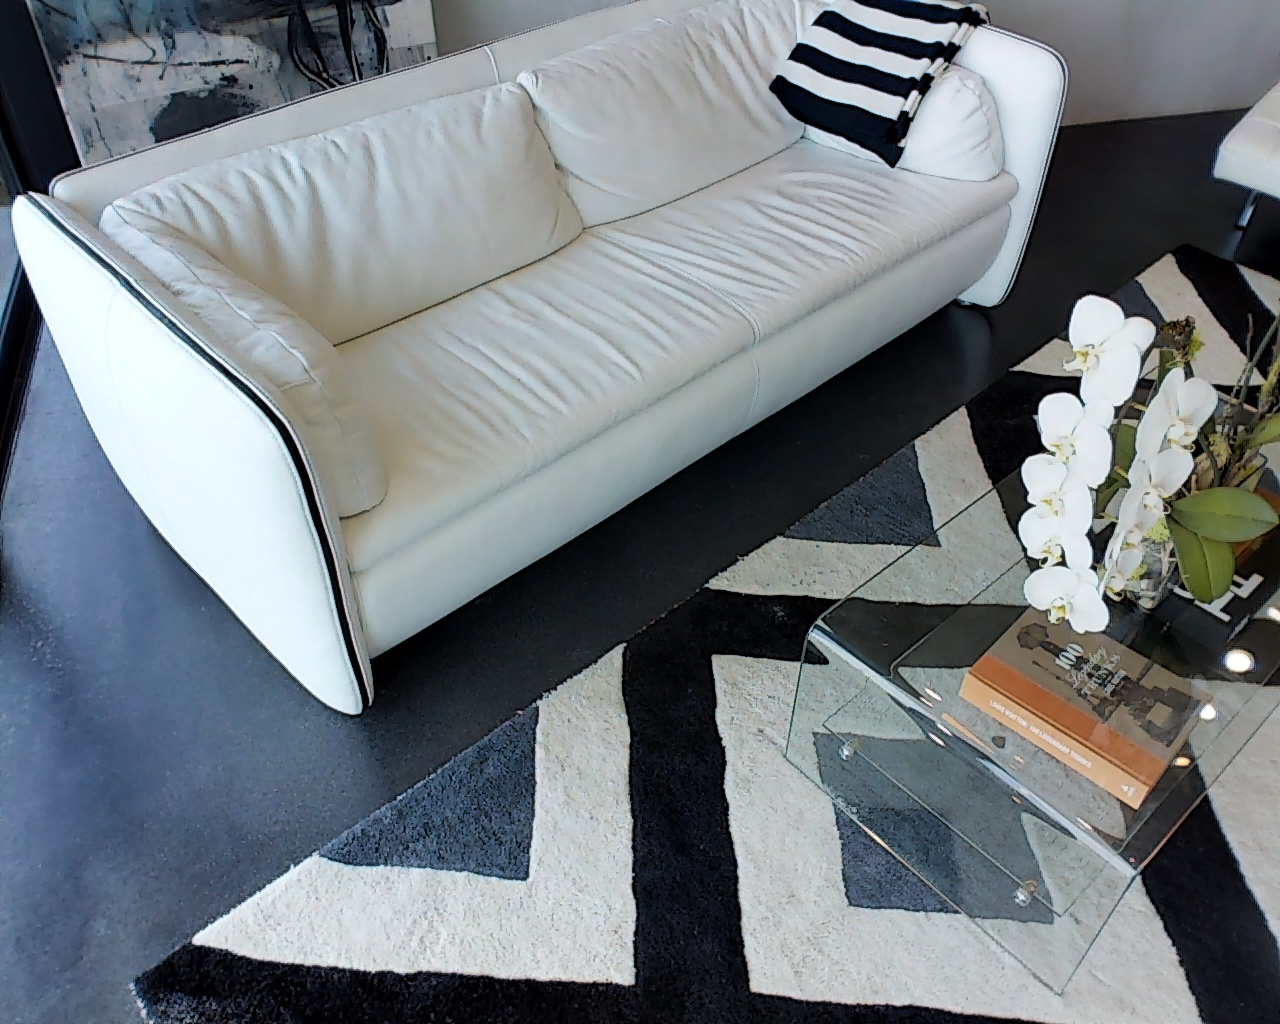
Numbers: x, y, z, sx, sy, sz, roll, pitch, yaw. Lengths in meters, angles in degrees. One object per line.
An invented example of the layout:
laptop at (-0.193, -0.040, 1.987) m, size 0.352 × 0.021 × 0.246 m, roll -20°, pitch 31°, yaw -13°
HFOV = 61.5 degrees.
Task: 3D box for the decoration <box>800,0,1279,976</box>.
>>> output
decoration at (0.870, -0.100, 1.580) m, size 1.130 × 1.150 × 0.470 m, roll -28°, pitch 50°, yaw -27°

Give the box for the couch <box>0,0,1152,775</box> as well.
couch at (-0.020, -0.650, 2.480) m, size 2.430 × 0.760 × 1.040 m, roll -33°, pitch 52°, yaw -30°
